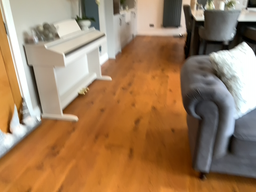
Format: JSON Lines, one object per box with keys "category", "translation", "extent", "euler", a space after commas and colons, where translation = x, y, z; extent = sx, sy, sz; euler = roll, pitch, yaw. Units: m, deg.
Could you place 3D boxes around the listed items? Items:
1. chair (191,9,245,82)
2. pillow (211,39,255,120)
{"category": "chair", "translation": [1.440, -0.870, 3.560], "extent": [0.570, 1.070, 0.610], "euler": [5, 26, 10]}
{"category": "pillow", "translation": [0.880, -0.090, 1.600], "extent": [0.490, 0.520, 0.190], "euler": [9, -4, -35]}
